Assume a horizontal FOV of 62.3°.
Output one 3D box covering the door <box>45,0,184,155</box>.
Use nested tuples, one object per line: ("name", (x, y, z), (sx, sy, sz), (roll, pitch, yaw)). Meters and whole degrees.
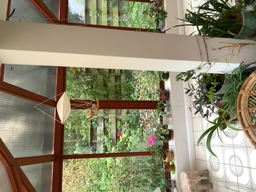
("door", (-0.170, -0.770, 3.610), (0.050, 2.190, 3.350), (142, 128, -74))
